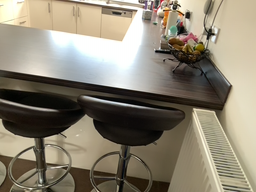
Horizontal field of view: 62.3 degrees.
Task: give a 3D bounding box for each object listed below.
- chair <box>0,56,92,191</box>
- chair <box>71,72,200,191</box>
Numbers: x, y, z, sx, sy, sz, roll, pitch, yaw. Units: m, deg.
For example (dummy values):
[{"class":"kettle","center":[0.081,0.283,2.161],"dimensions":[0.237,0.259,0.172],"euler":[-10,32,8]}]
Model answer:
[{"class":"chair","center":[-0.550,0.300,1.220],"dimensions":[0.520,0.860,0.480],"euler":[11,29,3]},{"class":"chair","center":[0.000,0.390,1.210],"dimensions":[0.490,0.860,0.480],"euler":[11,29,3]}]
